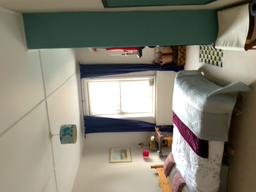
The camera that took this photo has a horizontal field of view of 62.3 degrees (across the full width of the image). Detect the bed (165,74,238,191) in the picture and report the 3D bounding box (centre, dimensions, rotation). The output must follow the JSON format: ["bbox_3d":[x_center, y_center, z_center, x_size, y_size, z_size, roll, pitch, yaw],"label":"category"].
[{"bbox_3d":[1.200,0.770,3.930,1.500,0.550,2.120,-107,16,-73],"label":"bed"}]
